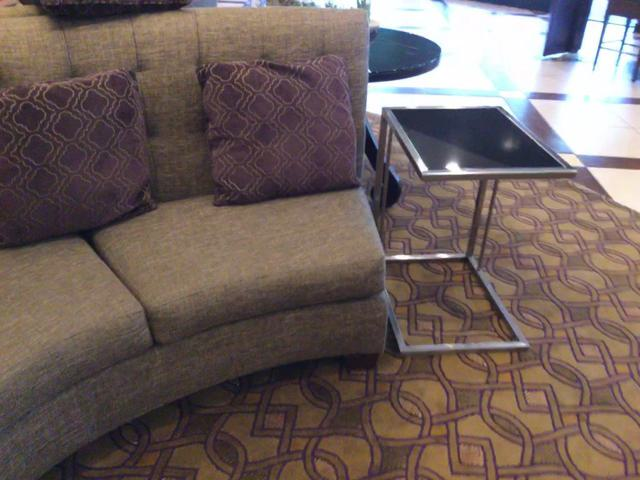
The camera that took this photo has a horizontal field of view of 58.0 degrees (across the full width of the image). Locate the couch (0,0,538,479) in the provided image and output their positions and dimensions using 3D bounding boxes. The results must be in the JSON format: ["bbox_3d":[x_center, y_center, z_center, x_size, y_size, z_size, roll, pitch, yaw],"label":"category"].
[{"bbox_3d":[-0.690,0.000,1.540,2.440,1.110,1.090,-20,33,-33],"label":"couch"}]

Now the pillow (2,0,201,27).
[{"bbox_3d":[-0.720,-0.820,1.870,0.500,0.170,0.440,-20,32,-32],"label":"pillow"}]

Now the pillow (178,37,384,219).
[{"bbox_3d":[-0.130,-0.390,1.960,0.570,0.470,0.280,-14,19,-14],"label":"pillow"}]

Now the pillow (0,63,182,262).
[{"bbox_3d":[-0.740,-0.250,1.660,0.220,0.430,0.580,16,30,42],"label":"pillow"}]
